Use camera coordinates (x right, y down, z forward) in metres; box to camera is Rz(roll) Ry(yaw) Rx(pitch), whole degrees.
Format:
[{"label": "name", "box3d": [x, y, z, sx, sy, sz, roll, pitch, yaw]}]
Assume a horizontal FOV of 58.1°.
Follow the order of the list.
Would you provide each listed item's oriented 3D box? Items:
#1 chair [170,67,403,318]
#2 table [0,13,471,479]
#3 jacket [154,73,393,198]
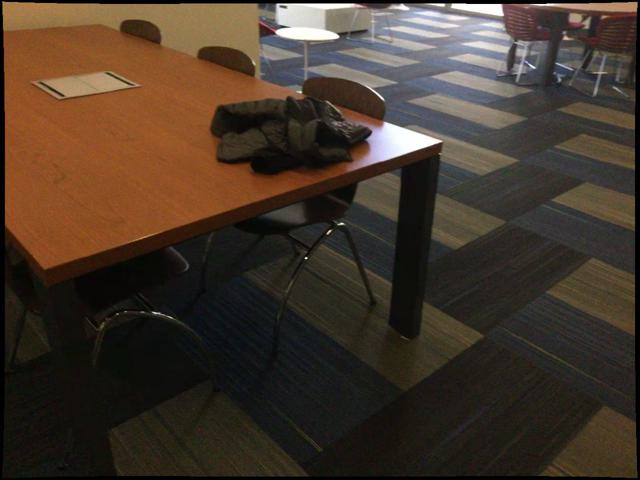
[{"label": "chair", "box3d": [-0.130, -0.221, 2.170, 0.609, 0.671, 0.540, -22, 38, -37]}, {"label": "table", "box3d": [-0.908, -0.281, 2.400, 1.408, 0.842, 2.528, -22, 38, -37]}, {"label": "jacket", "box3d": [-0.140, -0.341, 1.720, 0.499, 0.150, 0.490, -22, 38, -37]}]
